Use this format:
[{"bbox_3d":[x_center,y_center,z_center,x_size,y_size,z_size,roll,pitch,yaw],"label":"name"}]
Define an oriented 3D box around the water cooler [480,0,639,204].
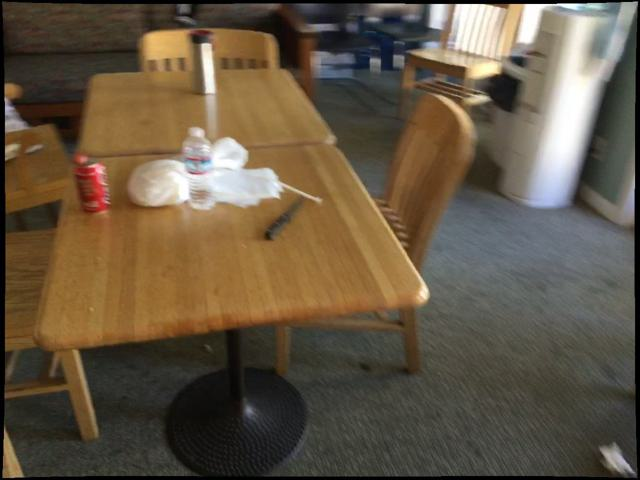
[{"bbox_3d":[1.209,-0.881,2.720,0.510,1.311,0.480,-7,35,-12],"label":"water cooler"}]
